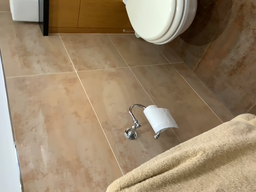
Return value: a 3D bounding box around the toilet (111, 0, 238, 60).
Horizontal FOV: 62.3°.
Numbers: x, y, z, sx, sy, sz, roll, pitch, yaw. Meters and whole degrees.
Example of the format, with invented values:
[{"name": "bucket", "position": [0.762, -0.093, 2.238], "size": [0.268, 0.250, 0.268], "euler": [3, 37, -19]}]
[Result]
[{"name": "toilet", "position": [0.220, -0.530, 1.200], "size": [0.540, 0.380, 0.370], "euler": [58, 143, 35]}]
